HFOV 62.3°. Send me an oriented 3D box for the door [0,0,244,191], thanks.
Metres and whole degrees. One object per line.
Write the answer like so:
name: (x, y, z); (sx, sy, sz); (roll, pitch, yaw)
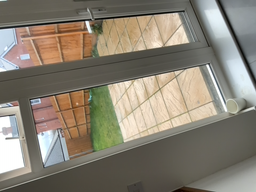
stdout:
door: (-0.280, -0.590, 1.790); (0.120, 2.010, 2.310); (131, 123, -66)
